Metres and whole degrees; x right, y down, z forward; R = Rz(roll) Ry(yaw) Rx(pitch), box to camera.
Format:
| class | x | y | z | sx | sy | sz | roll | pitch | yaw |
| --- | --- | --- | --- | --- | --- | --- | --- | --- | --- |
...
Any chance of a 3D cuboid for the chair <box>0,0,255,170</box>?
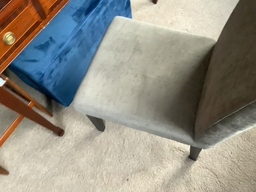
| class | x | y | z | sx | sy | sz | roll | pitch | yaw |
| --- | --- | --- | --- | --- | --- | --- | --- | --- | --- |
| chair | 0.130 | -0.100 | 0.780 | 0.590 | 0.900 | 0.470 | 18 | 70 | 11 |

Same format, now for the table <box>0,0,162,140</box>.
| class | x | y | z | sx | sy | sz | roll | pitch | yaw |
| --- | --- | --- | --- | --- | --- | --- | --- | --- | --- |
| table | -0.320 | -0.510 | 1.010 | 0.540 | 0.860 | 1.150 | 29 | 72 | 15 |
